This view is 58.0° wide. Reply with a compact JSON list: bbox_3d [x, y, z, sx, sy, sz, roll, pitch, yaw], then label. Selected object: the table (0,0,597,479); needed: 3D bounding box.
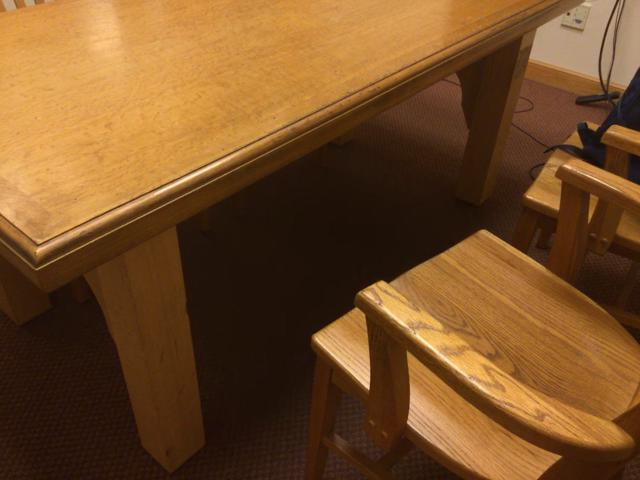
[{"bbox_3d":[-0.090,-0.280,1.650,0.920,0.770,1.790,29,45,29],"label":"table"}]
